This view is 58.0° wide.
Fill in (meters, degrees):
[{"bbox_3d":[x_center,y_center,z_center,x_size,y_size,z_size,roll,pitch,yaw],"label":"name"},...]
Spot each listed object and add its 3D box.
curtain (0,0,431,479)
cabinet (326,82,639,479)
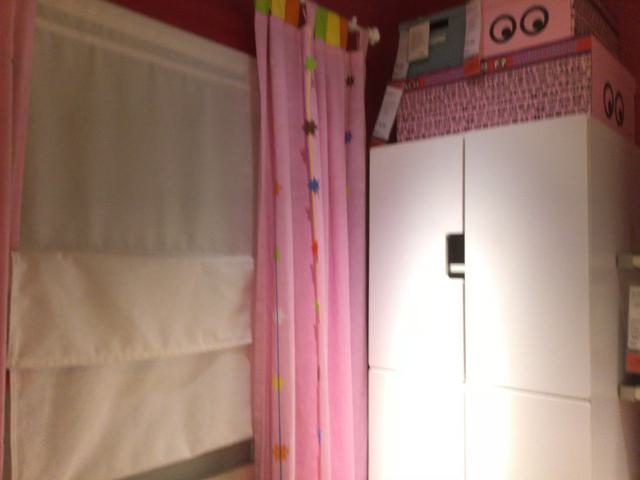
[{"bbox_3d":[-0.230,0.430,1.300,0.210,2.300,1.360,-6,-6,44],"label":"curtain"},{"bbox_3d":[0.500,0.650,1.600,0.760,1.900,0.530,-6,-6,44],"label":"cabinet"}]
